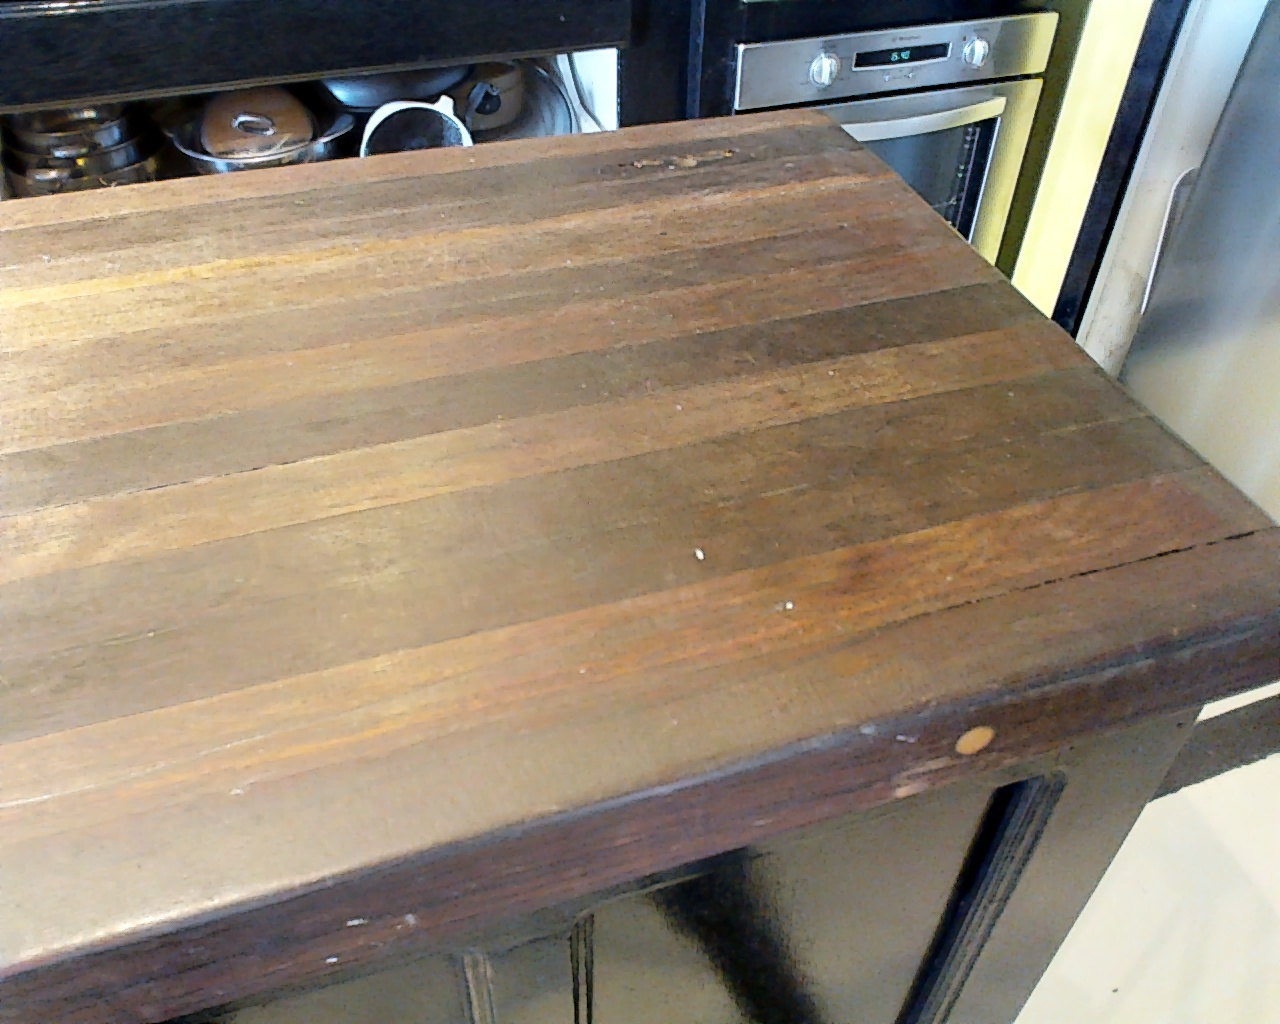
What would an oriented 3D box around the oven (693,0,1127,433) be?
[{"bbox_3d":[0.460,-0.530,1.980,0.710,0.740,0.080,-13,44,-15],"label":"oven"}]
